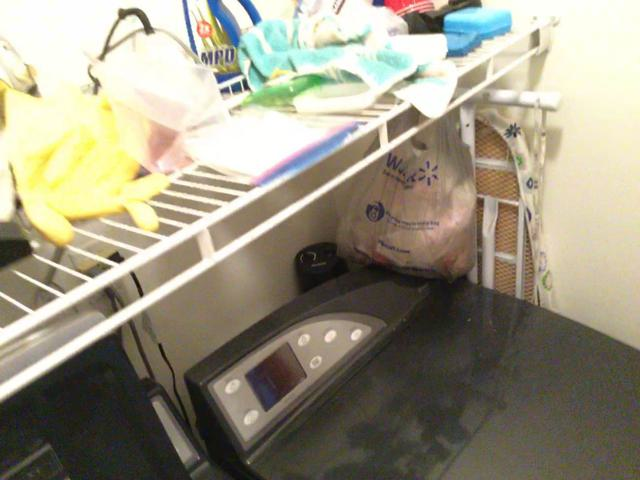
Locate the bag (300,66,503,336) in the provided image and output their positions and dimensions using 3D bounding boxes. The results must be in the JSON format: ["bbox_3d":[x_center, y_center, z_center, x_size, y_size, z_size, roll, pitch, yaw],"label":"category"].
[{"bbox_3d":[0.200,-0.100,1.280,0.300,0.490,0.270,14,37,38],"label":"bag"}]
